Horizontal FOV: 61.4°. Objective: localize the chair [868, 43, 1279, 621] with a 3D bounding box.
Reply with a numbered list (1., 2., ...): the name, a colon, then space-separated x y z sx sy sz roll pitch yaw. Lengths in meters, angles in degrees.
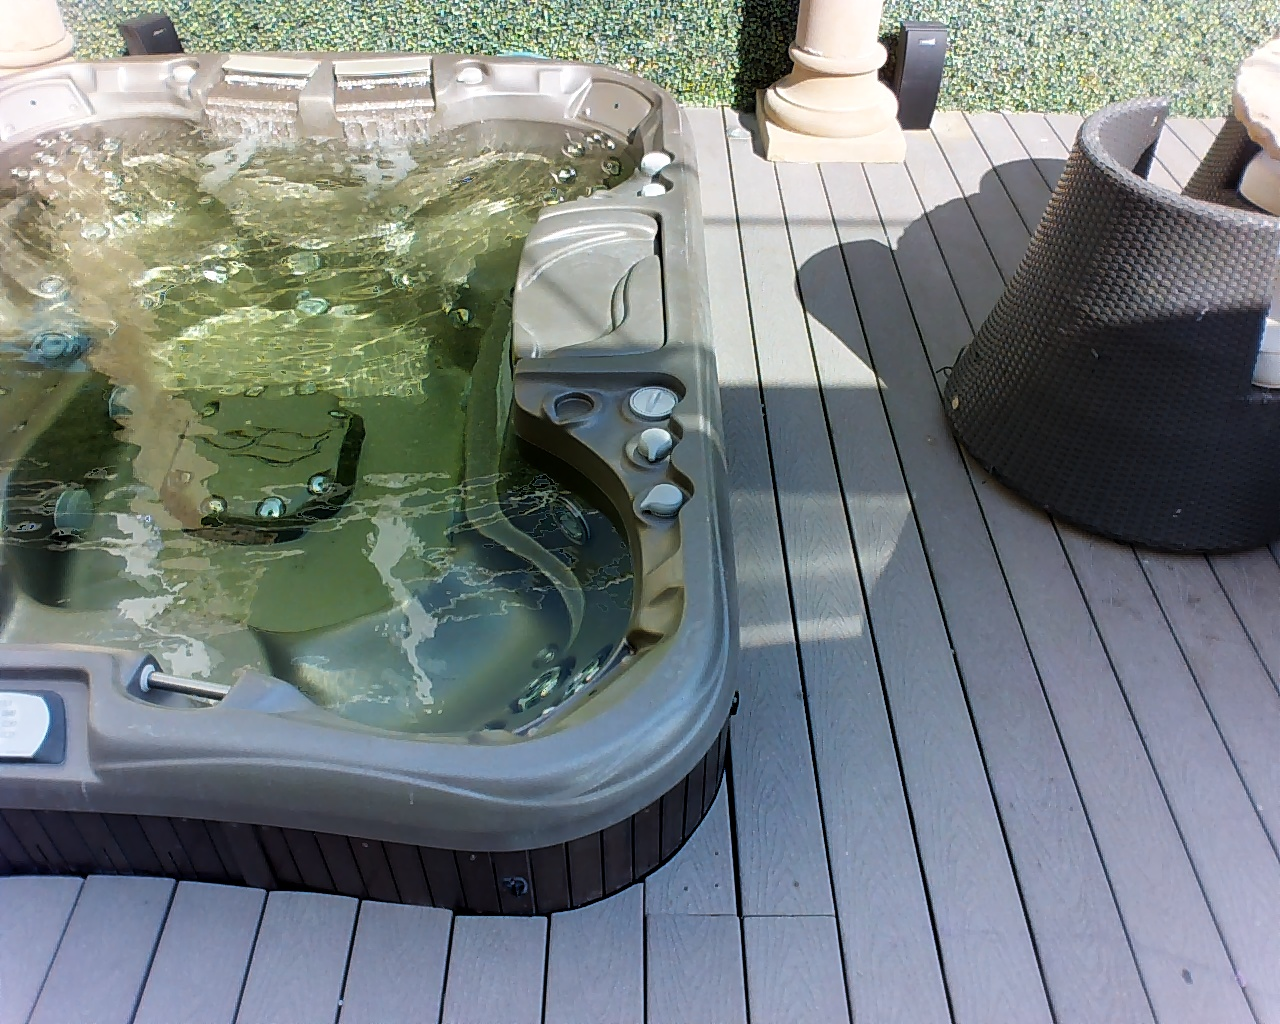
1. chair: 1.230 -0.450 2.320 1.040 0.700 0.940 -12 44 -14
